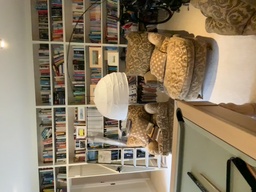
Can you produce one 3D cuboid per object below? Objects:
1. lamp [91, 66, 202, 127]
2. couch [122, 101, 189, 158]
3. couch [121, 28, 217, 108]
[{"bbox_3d":[0.210,-0.040,3.170,0.740,1.450,0.700,-131,41,-71],"label":"lamp"},{"bbox_3d":[0.410,0.530,3.740,1.080,0.820,0.820,162,107,-77],"label":"couch"},{"bbox_3d":[0.470,-0.550,3.350,1.630,0.830,0.860,-121,32,-66],"label":"couch"}]
